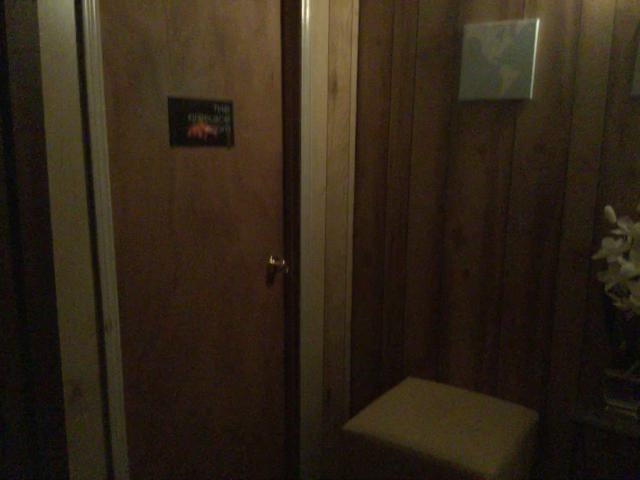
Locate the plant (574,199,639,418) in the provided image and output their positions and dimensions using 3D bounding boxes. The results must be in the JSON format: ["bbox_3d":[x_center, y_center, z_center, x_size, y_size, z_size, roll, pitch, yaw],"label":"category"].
[{"bbox_3d":[0.940,0.190,1.690,0.290,0.610,0.180,5,6,38],"label":"plant"}]

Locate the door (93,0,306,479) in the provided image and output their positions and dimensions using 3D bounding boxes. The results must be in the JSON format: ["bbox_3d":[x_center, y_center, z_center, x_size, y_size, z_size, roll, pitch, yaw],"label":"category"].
[{"bbox_3d":[-0.330,0.140,1.790,0.060,2.050,0.760,5,6,38],"label":"door"}]
